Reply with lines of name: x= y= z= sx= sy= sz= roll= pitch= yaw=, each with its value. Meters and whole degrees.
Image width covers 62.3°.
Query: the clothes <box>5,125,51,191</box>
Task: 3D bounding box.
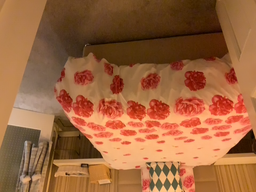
clothes: x=-1.220 y=1.070 z=2.470 sx=0.350 sy=1.430 sz=0.180 roll=17 pitch=146 yaw=-26

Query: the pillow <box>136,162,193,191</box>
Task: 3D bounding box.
pillow: x=0.460 y=1.100 z=2.790 sx=0.670 sy=0.350 sz=0.330 roll=-4 pitch=149 yaw=7

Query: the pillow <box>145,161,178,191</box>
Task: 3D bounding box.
pillow: x=0.400 y=1.000 z=2.570 sx=0.360 sy=0.360 sz=0.210 roll=-5 pitch=149 yaw=8

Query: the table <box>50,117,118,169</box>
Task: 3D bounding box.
table: x=-0.630 y=0.730 z=3.250 sx=0.860 sy=0.630 sz=0.470 roll=-4 pitch=149 yaw=7
